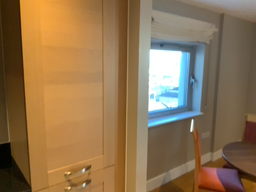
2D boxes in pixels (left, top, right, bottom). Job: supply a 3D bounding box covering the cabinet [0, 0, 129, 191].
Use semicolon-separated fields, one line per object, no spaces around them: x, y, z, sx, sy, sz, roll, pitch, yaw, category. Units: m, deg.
-0.480;0.270;1.630;0.720;2.200;0.580;-6;12;-38;cabinet
